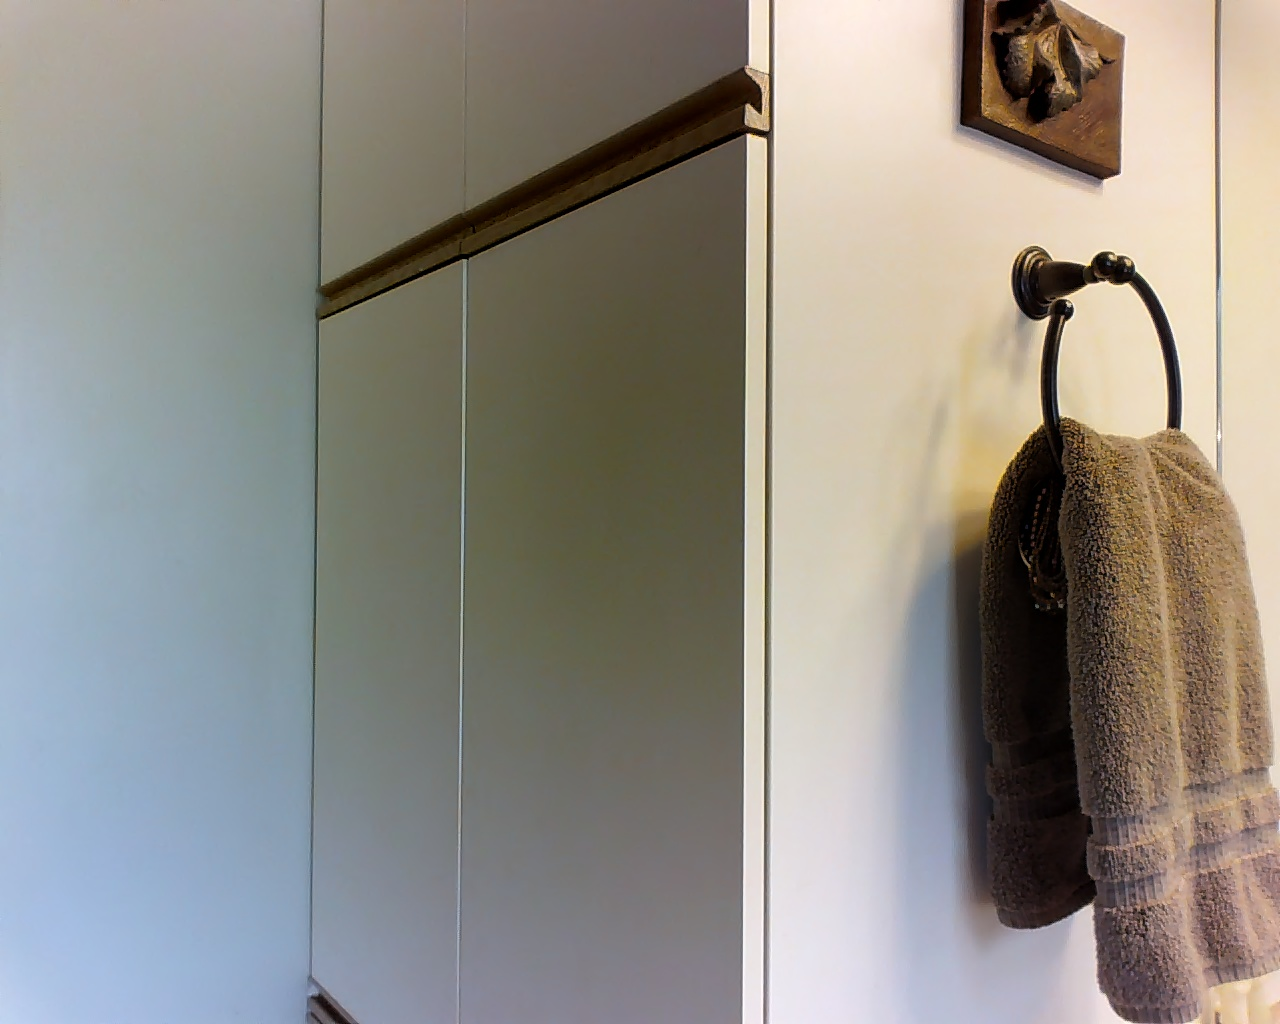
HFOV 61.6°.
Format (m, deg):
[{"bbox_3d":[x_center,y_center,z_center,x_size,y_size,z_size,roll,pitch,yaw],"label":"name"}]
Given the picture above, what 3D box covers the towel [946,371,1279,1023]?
[{"bbox_3d":[0.350,0.120,0.720,0.240,0.390,0.160,1,-1,-33],"label":"towel"}]
